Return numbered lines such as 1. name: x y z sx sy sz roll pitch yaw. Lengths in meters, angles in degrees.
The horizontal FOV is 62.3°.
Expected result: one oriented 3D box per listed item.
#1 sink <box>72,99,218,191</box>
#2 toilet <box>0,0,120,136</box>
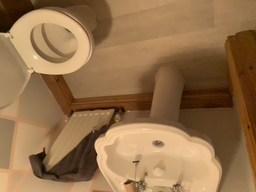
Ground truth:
1. sink: 0.110 0.270 1.030 0.580 0.170 0.470 -5 127 21
2. toilet: -0.530 -0.230 1.190 0.690 0.800 0.440 -4 128 20
